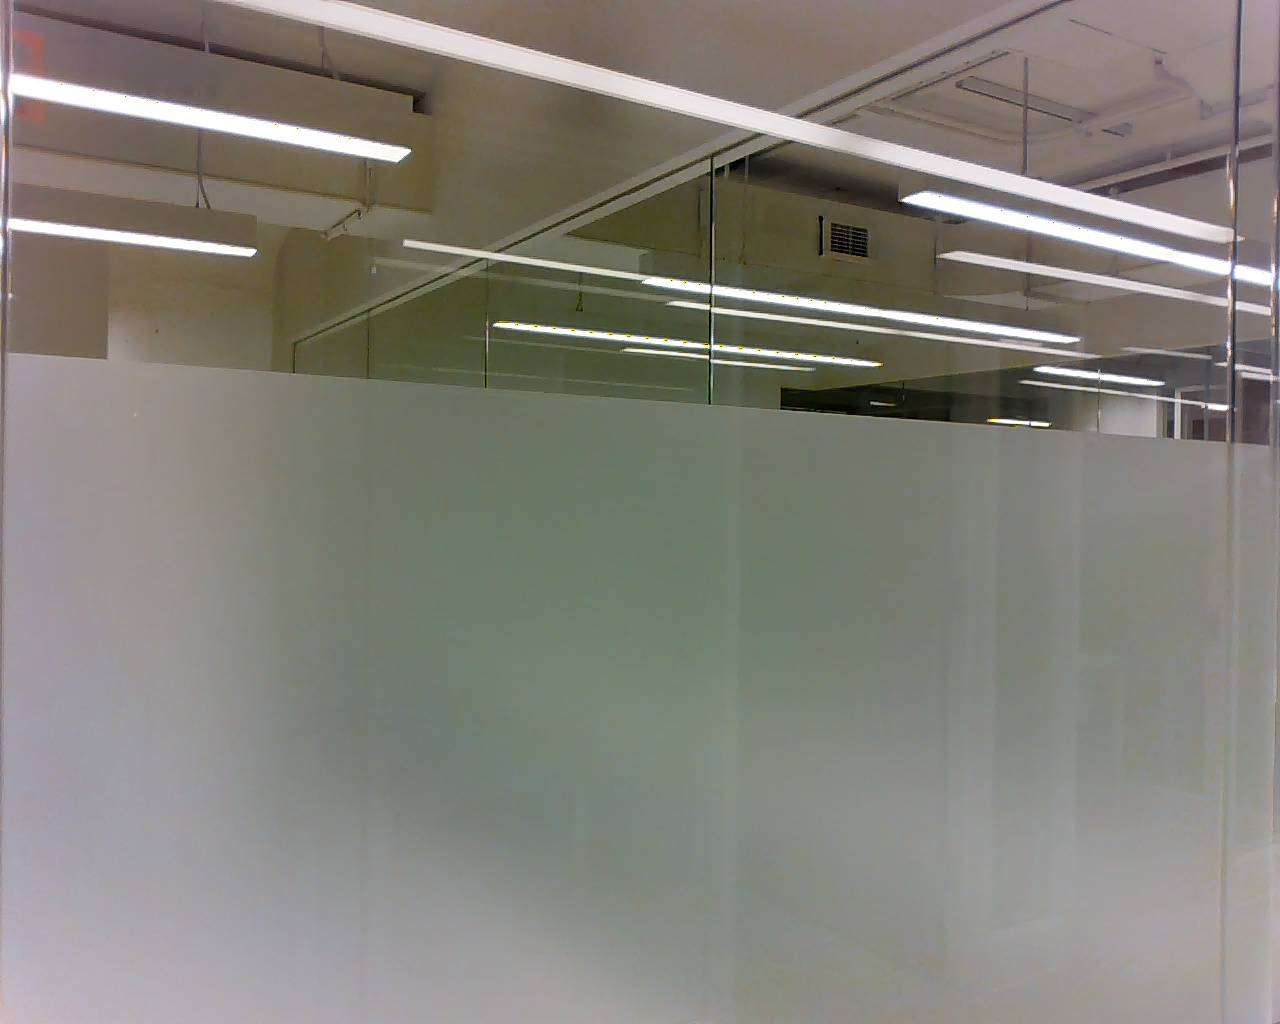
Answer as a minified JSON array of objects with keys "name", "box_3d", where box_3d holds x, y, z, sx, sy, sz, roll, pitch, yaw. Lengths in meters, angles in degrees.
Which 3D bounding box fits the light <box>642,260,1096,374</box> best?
[{"name":"light","box_3d":[1.100,-0.790,4.560,2.480,0.200,0.160,1,1,-32]}]
